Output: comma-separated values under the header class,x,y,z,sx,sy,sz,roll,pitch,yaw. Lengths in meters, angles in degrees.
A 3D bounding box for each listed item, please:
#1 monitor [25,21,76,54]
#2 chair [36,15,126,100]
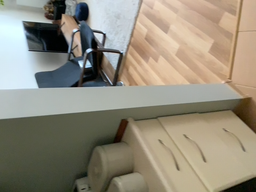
class,x,y,z,sx,sy,sz,roll,pitch,yaw
monitor,-1.330,-1.000,3.570,1.040,0.630,0.080,54,136,43
chair,-0.660,-0.480,2.790,0.570,0.910,0.840,56,138,42
